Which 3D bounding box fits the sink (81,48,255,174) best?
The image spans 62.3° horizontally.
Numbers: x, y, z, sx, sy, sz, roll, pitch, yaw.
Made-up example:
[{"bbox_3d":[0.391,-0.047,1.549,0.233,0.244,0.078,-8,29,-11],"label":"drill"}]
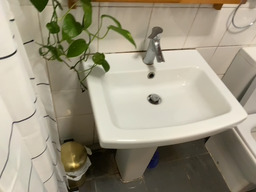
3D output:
[{"bbox_3d":[0.120,0.010,0.860,0.560,0.140,0.460,-6,50,-16],"label":"sink"}]
